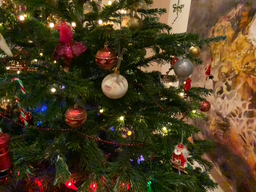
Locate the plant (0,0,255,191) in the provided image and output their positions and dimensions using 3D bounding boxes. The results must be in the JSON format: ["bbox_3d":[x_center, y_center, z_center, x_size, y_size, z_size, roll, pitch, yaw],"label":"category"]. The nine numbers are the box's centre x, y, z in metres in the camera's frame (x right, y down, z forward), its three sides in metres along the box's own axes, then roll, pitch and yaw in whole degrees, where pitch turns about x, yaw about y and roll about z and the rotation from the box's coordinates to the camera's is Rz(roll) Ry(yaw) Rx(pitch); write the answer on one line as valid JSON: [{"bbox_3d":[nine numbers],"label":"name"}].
[{"bbox_3d":[-0.210,0.350,0.950,1.610,2.000,1.280,-1,23,-11],"label":"plant"}]
